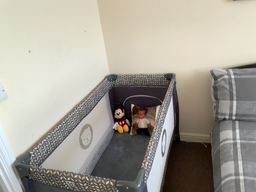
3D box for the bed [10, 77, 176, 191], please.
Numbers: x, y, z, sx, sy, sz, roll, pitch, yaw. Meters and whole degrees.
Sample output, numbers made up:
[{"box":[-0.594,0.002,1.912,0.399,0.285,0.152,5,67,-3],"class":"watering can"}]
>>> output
[{"box":[-0.040,0.420,1.620,0.630,0.710,1.270,1,26,19],"class":"bed"}]
